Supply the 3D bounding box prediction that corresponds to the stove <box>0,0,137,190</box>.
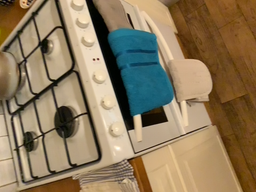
[{"bbox_3d":[-0.320,-0.010,0.760,0.630,0.060,0.590,-26,76,34],"label":"stove"}]
